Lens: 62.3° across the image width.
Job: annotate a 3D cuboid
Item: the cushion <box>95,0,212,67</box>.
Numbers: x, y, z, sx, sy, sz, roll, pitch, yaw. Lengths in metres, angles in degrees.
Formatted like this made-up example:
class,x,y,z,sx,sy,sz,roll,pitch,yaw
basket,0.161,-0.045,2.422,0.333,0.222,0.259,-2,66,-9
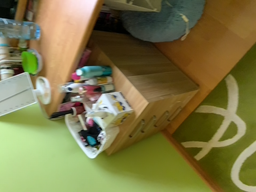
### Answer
class,x,y,z,sx,sy,sz,roll,pitch,yaw
cushion,0.130,-0.560,1.340,0.500,0.250,0.550,53,127,20
